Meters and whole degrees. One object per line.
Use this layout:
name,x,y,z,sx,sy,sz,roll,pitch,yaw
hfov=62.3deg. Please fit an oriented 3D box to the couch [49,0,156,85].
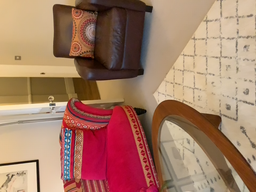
couch,-0.340,-0.630,2.210,0.900,0.800,0.810,34,123,58

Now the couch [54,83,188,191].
couch,-0.050,1.210,1.830,1.210,0.770,2.420,-62,40,46

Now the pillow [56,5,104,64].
pillow,-0.500,-0.630,2.220,0.500,0.300,0.120,-62,3,13

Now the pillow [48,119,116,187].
pillow,-0.430,0.540,2.020,0.160,0.470,0.490,-121,53,-79
